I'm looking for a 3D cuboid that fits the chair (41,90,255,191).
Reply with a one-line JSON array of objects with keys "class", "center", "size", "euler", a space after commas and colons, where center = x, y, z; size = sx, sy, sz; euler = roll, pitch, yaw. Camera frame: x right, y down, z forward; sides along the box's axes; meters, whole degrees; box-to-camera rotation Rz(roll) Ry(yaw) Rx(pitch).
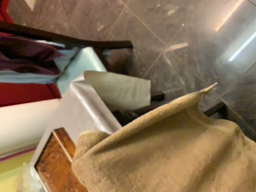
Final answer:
[{"class": "chair", "center": [0.200, 0.390, 0.870], "size": [0.470, 1.010, 0.560], "euler": [53, 125, 20]}]
